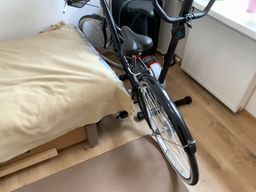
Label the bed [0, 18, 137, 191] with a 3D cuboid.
[{"bbox_3d":[-1.090,0.070,1.500,1.970,0.450,1.180,-18,47,-19],"label":"bed"}]
